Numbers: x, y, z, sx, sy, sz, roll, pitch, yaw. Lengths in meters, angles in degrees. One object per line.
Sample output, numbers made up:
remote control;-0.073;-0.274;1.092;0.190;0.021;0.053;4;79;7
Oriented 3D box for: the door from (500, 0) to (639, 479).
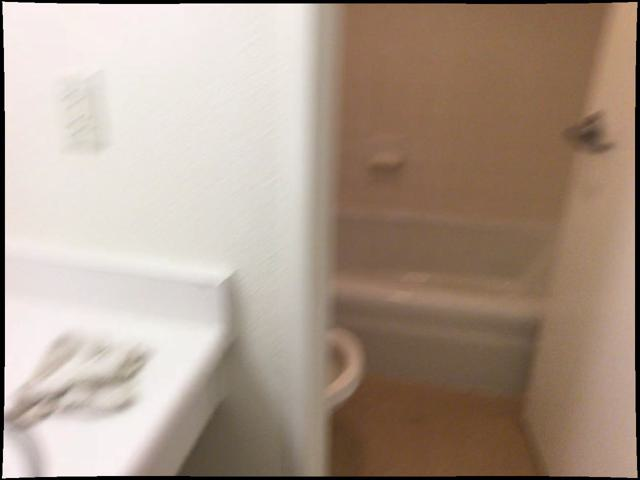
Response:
door;0.688;-0.060;1.300;0.080;1.864;0.821;0;29;1
